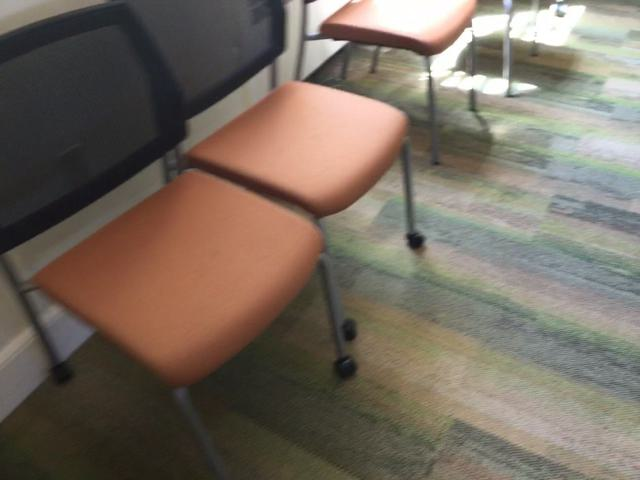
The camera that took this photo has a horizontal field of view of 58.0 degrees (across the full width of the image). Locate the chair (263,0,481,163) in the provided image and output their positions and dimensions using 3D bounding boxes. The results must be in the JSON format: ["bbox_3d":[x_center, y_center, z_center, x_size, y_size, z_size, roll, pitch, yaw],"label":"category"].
[{"bbox_3d":[0.200,-0.810,2.040,0.610,0.840,0.490,15,46,24],"label":"chair"}]

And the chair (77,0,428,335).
[{"bbox_3d":[-0.110,-0.290,1.530,0.620,0.810,0.480,20,48,28],"label":"chair"}]
